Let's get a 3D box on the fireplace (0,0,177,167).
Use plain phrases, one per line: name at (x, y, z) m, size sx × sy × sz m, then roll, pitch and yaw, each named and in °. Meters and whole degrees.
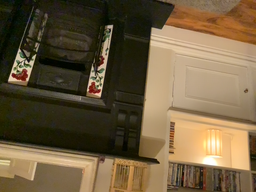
fireplace at (-0.540, -0.240, 1.720) m, size 1.690 × 1.350 × 0.540 m, roll 10°, pitch 160°, yaw -8°
